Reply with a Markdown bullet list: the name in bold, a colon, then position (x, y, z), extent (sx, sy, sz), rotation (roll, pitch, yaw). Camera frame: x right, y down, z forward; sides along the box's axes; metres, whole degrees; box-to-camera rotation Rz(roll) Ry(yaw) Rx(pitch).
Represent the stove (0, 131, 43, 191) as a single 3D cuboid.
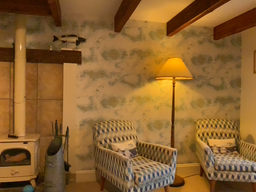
- **stove**: position (-1.300, 0.740, 2.520), extent (0.480, 0.560, 0.450), rotation (1, 1, -14)
